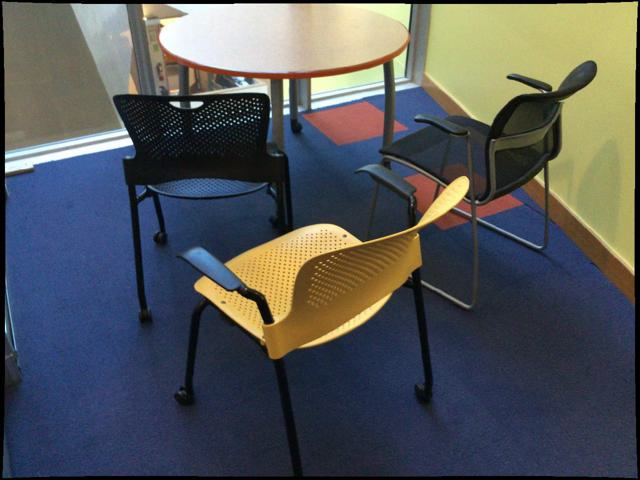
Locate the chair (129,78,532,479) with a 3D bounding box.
[{"bbox_3d":[0.000,0.130,1.460,0.630,0.791,0.590,-22,42,-27],"label":"chair"}]

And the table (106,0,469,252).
[{"bbox_3d":[-0.130,-0.691,2.670,1.070,0.680,1.120,30,46,33],"label":"table"}]
